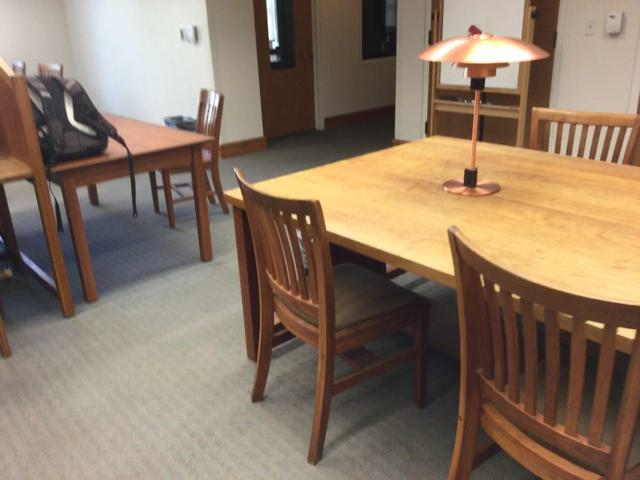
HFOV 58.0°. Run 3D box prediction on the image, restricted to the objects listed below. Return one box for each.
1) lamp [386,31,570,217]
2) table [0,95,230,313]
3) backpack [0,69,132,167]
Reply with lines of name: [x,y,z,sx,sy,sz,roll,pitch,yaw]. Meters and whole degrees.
lamp: [0.540,-0.440,2.050,0.400,0.550,0.440,-19,28,-39]
table: [-1.500,-0.370,3.640,0.960,0.830,1.760,-19,28,-39]
backpack: [-1.250,-0.620,2.860,0.420,0.380,0.440,-19,28,-39]
